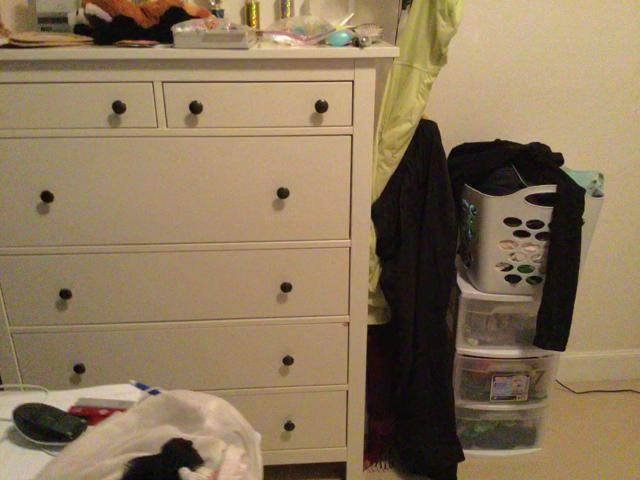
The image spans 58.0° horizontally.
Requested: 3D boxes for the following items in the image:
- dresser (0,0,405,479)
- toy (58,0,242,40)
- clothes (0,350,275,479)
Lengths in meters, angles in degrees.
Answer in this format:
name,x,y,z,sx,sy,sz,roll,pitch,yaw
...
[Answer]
name,x,y,z,sx,sy,sz,roll,pitch,yaw
dresser,-0.390,0.050,1.720,1.120,1.480,0.550,0,21,-2
toy,-0.420,-0.600,1.490,0.410,0.150,0.230,0,21,-2
clothes,-0.230,0.320,0.690,0.330,0.160,0.440,0,21,-2
